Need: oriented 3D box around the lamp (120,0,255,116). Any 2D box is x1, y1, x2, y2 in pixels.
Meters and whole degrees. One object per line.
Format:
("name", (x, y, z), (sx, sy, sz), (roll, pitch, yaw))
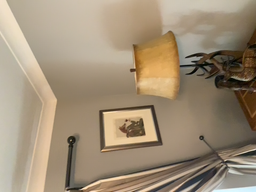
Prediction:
("lamp", (0.410, -0.220, 1.190), (0.430, 0.860, 0.420), (87, 177, -51))
